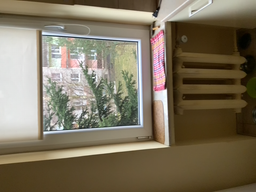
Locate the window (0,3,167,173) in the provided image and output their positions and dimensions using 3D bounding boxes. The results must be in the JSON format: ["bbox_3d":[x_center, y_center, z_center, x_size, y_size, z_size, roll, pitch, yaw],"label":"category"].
[{"bbox_3d":[-0.470,-0.050,1.260,0.140,1.450,0.900,167,102,-71],"label":"window"}]

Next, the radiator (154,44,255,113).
[{"bbox_3d":[0.620,-0.110,1.610,0.250,0.790,0.440,160,108,-71],"label":"radiator"}]
